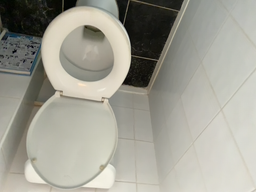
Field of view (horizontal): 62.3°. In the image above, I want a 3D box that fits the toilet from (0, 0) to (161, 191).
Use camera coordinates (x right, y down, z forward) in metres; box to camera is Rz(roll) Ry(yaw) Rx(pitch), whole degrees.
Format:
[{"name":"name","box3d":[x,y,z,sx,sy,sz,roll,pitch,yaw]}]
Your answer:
[{"name":"toilet","box3d":[-0.210,-0.060,0.970,0.400,0.840,0.690,8,136,-11]}]
